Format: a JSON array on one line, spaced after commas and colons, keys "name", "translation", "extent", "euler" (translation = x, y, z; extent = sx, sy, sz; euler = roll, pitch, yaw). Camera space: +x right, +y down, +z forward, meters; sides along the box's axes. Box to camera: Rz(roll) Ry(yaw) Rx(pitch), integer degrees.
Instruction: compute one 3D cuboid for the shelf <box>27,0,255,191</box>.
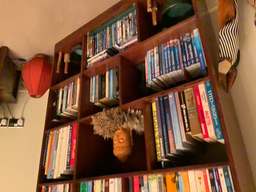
[{"name": "shelf", "translation": [-0.050, 0.270, 1.280], "extent": [1.260, 1.850, 0.370], "euler": [-19, 151, 32]}]
